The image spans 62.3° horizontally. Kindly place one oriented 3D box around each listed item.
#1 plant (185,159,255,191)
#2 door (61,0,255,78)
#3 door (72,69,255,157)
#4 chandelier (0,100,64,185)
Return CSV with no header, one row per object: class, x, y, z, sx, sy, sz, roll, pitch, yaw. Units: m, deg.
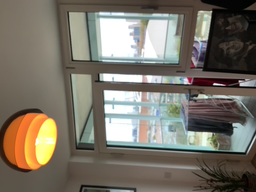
plant,1.220,1.120,2.640,0.460,0.870,0.380,-85,-4,-54
door,0.590,-0.990,2.240,0.100,2.610,1.630,-84,-5,-59
door,0.580,0.310,3.070,0.110,2.590,1.400,-84,-4,-55
chandelier,-0.620,0.200,1.090,0.360,0.450,0.340,-2,-85,-88
